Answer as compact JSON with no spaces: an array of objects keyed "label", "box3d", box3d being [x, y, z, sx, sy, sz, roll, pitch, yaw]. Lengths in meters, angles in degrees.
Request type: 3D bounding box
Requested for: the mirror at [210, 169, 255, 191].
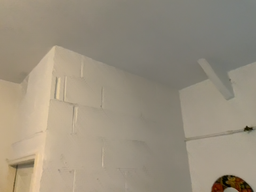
[{"label":"mirror","box3d":[0.940,0.880,1.850,0.030,0.440,0.380,15,-26,-38]}]
